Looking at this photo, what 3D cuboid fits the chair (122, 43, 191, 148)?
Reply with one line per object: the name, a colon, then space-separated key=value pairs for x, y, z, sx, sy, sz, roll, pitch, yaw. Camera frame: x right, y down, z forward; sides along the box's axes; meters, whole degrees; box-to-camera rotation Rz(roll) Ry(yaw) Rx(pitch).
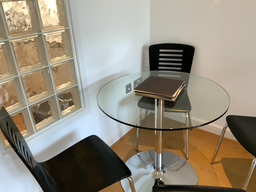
chair: x=0.270 y=-0.030 z=2.020 sx=0.430 sy=0.810 sz=0.450 roll=16 pitch=32 yaw=32
